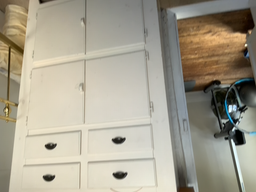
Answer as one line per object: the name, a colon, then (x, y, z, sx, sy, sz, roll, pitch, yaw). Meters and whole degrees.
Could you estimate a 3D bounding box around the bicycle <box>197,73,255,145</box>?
bicycle: (1.870, 0.230, 3.660, 1.120, 1.110, 0.400, -6, 164, 9)
